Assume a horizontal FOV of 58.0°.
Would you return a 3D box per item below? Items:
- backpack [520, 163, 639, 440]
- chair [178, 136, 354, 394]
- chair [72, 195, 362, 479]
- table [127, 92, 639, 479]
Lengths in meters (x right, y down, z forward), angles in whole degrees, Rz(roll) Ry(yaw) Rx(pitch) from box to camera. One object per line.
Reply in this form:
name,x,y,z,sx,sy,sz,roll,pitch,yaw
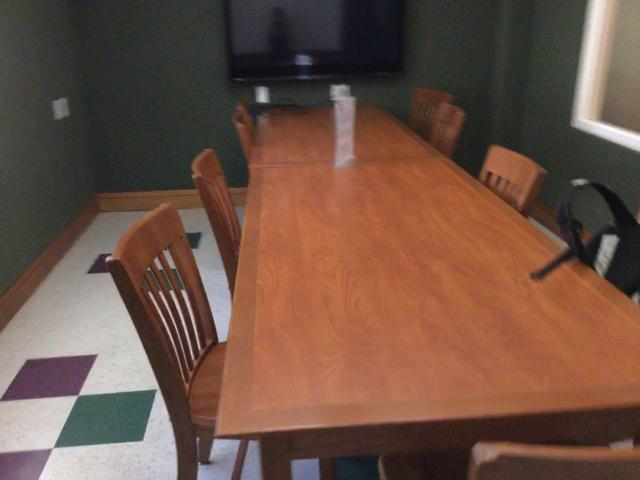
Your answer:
backpack,0.780,0.120,1.450,0.290,0.510,0.440,-8,22,-15
chair,-0.190,0.080,2.360,0.580,0.880,0.520,-4,21,-3
chair,-0.200,0.370,1.610,0.610,0.880,0.470,0,21,6
table,0.110,-0.040,2.700,1.070,0.810,3.570,-4,21,-4
